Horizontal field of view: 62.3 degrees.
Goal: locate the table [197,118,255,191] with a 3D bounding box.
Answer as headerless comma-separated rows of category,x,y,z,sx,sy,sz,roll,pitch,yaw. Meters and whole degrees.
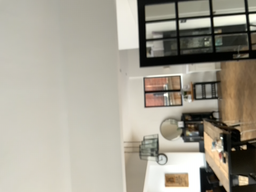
table,2.040,1.050,4.330,2.010,0.800,0.990,0,-93,-83
